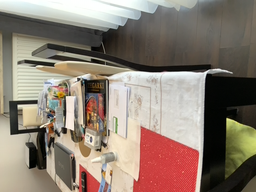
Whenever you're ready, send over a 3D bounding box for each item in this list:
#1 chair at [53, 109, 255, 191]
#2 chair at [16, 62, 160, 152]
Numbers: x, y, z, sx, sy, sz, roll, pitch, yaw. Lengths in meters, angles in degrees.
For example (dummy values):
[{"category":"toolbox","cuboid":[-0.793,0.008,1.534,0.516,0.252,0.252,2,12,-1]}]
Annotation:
[{"category":"chair","cuboid":[0.310,0.320,0.890,0.540,1.070,0.360,18,106,53]},{"category":"chair","cuboid":[-0.280,0.040,1.720,0.390,1.070,0.540,10,99,55]}]
